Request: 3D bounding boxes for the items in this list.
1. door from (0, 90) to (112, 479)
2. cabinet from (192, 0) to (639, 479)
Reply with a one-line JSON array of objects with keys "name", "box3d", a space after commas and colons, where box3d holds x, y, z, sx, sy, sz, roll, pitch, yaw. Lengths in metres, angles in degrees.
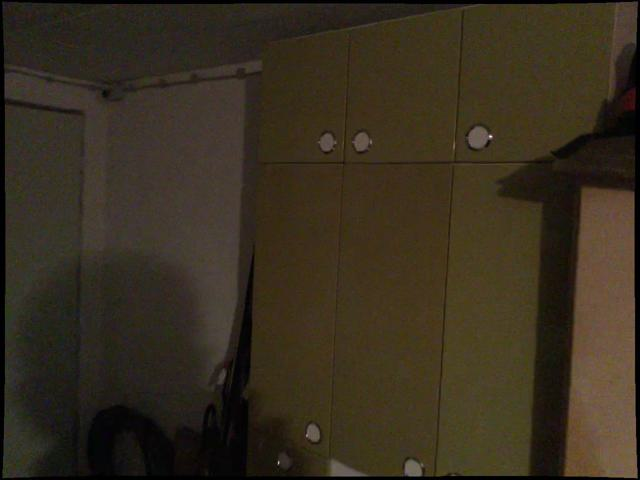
[{"name": "door", "box3d": [-1.508, 0.310, 2.650, 0.200, 1.942, 1.020, 8, 7, 37]}, {"name": "cabinet", "box3d": [0.170, 0.440, 1.710, 1.139, 2.092, 0.400, 9, 7, 38]}]
